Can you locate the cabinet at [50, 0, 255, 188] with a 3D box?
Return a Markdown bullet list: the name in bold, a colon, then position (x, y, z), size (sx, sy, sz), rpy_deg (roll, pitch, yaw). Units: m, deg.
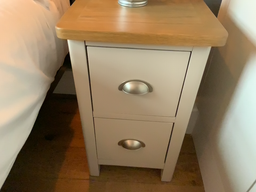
- **cabinet**: position (0.050, -0.010, 0.730), size (0.410, 0.600, 0.340), rpy_deg (4, 40, 1)
